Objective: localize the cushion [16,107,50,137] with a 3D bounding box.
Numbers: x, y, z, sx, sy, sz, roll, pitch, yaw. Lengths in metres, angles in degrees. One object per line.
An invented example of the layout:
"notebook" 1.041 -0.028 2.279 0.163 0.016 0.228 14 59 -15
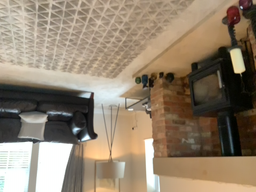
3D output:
"cushion" -1.630 0.470 3.660 0.460 0.410 0.640 6 163 -23

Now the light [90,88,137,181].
"light" -0.360 0.870 4.800 0.800 1.850 1.010 4 164 -16

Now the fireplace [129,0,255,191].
"fireplace" 0.870 0.170 2.290 0.930 1.380 2.050 6 163 -23
